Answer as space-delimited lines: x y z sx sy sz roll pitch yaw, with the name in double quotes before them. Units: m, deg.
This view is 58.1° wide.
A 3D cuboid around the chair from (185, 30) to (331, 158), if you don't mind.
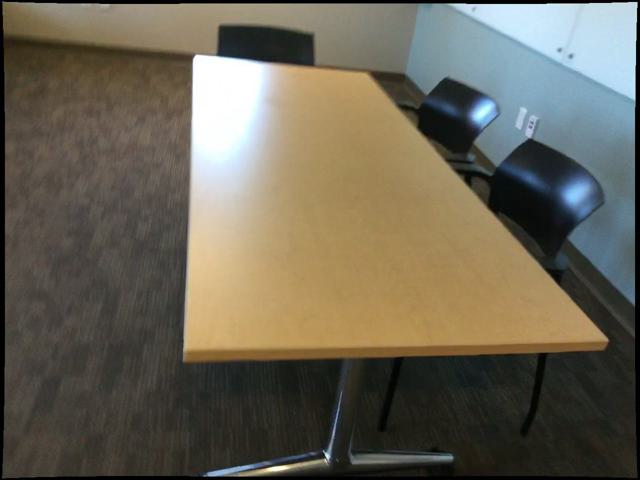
"chair" -0.299 -0.692 2.680 0.589 0.411 0.570 0 30 -9
